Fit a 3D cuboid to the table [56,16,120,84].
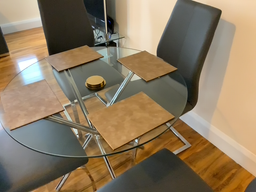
[{"bbox_3d":[-0.510,-0.610,2.640,0.410,0.470,0.880,-22,42,-26],"label":"table"}]
